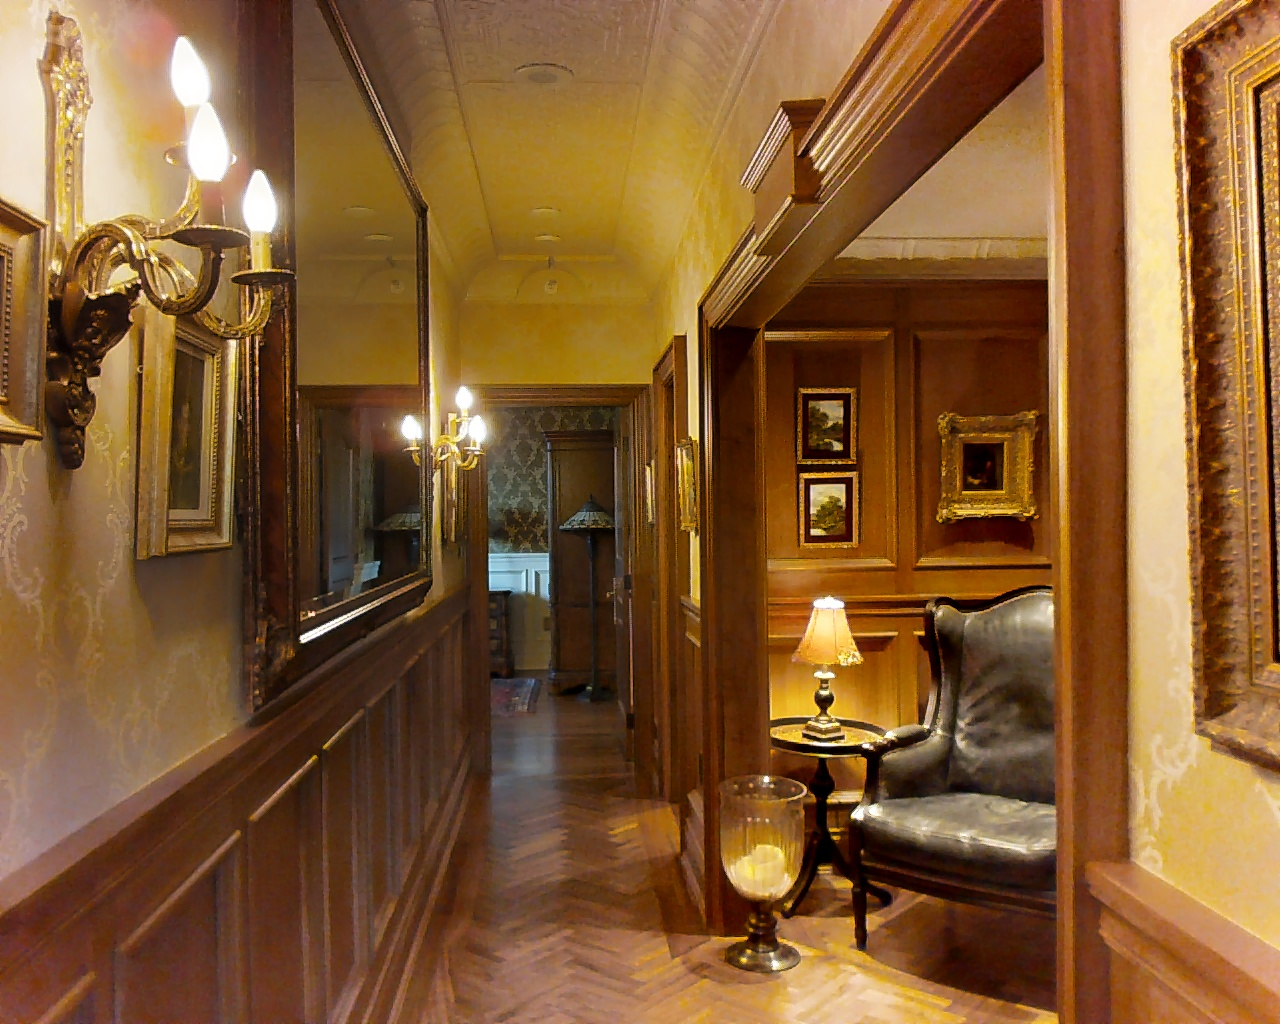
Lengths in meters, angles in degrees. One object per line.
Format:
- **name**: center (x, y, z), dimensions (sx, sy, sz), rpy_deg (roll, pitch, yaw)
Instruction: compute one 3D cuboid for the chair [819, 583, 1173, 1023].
- **chair**: center (1.210, 0.850, 3.590), dimensions (0.800, 1.150, 0.990), rpy_deg (-2, -1, 39)
